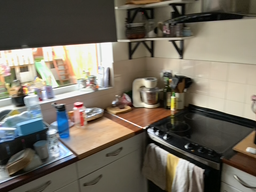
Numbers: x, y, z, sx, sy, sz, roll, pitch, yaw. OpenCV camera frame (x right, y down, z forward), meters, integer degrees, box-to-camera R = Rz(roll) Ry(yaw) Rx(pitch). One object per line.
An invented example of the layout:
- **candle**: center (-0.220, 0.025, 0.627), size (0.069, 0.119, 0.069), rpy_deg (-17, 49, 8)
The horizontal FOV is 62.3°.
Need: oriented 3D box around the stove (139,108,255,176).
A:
- **stove**: center (0.540, 0.290, 1.650), size (0.640, 0.090, 0.640), rpy_deg (-16, 22, -38)
